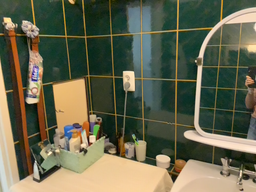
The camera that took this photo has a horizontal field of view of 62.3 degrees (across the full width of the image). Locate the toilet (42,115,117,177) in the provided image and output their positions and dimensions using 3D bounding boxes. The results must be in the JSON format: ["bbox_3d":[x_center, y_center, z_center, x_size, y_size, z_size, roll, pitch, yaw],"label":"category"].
[{"bbox_3d":[-0.260,0.260,1.220,0.240,0.180,0.340,7,16,32],"label":"toilet"}]
